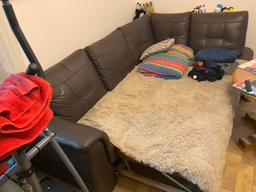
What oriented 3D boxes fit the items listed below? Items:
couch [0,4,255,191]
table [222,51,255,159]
[{"bbox_3d":[0.330,-0.200,2.310,1.650,0.930,2.550,9,36,27],"label":"couch"},{"bbox_3d":[1.340,0.070,1.870,0.800,0.630,0.820,9,36,26],"label":"table"}]
